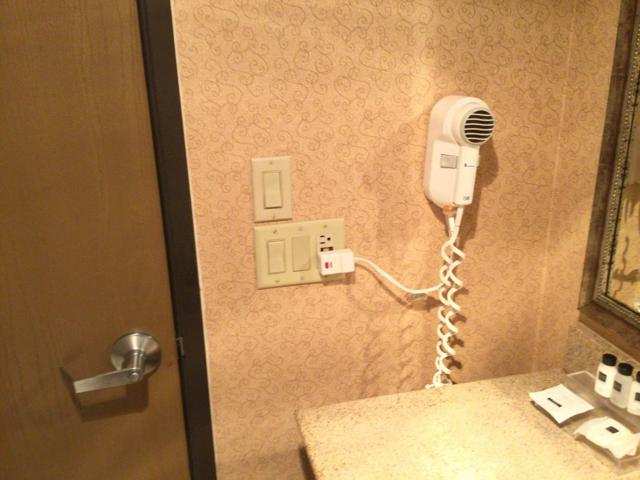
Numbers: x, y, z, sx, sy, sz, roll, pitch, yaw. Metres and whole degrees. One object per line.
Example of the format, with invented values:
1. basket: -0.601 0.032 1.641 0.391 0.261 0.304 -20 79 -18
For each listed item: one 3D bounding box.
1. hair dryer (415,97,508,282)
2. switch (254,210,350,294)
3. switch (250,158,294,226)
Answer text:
1. hair dryer: 0.240 -0.090 1.010 0.100 0.300 0.100 -5 20 -14
2. switch: -0.030 0.020 1.010 0.160 0.130 0.030 -5 20 -14
3. switch: -0.080 -0.080 0.970 0.070 0.110 0.010 -5 20 -14
